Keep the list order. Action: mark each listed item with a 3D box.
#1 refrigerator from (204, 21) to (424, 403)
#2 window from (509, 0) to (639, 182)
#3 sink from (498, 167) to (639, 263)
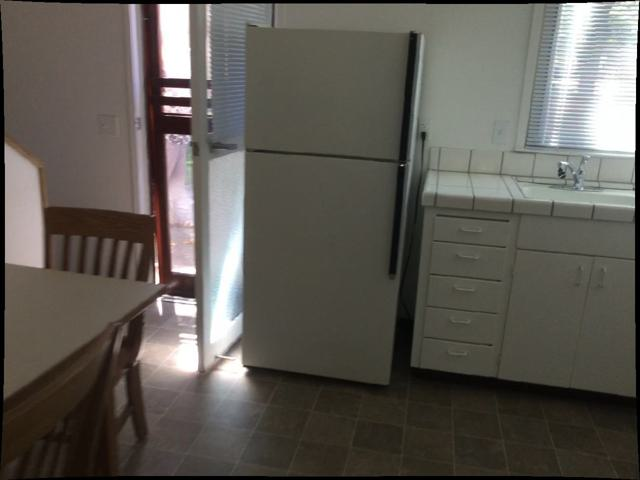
[{"bbox_3d":[0.000,-0.170,2.770,0.839,1.582,0.760,5,18,9],"label":"refrigerator"},{"bbox_3d":[1.567,-0.881,2.670,1.158,1.212,0.150,5,18,9],"label":"window"},{"bbox_3d":[1.178,-0.130,2.610,0.619,0.250,0.610,5,18,9],"label":"sink"}]
